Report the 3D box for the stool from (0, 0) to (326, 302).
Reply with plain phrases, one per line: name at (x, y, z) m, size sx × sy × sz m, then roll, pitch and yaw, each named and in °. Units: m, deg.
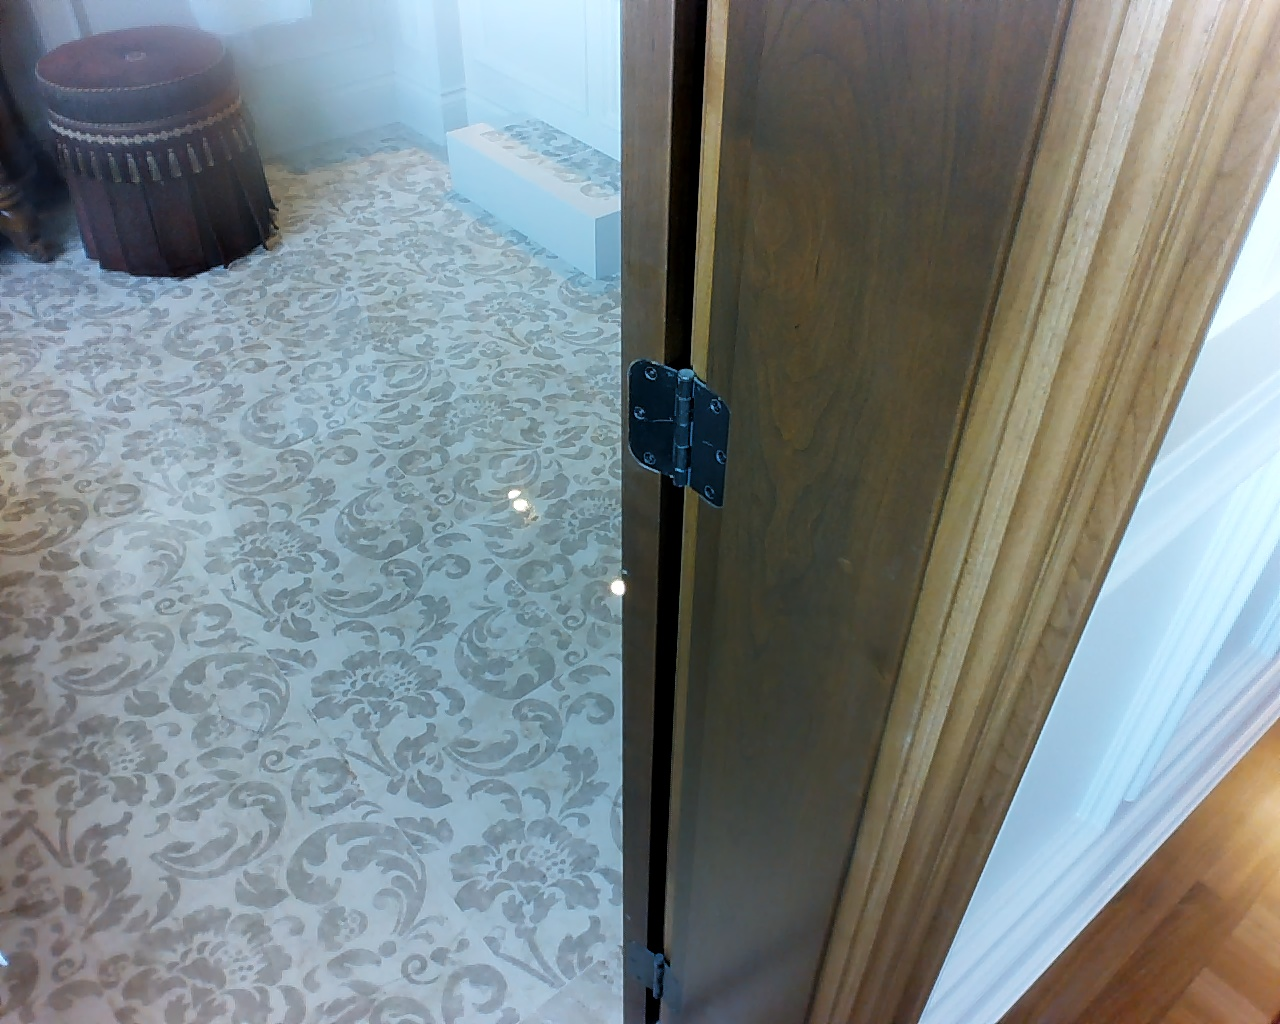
stool at (-1.340, -1.040, 2.930) m, size 0.560 × 0.520 × 0.720 m, roll -30°, pitch 50°, yaw -30°
